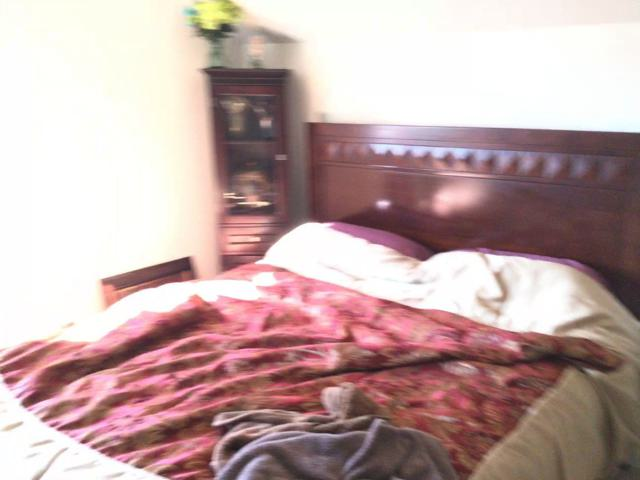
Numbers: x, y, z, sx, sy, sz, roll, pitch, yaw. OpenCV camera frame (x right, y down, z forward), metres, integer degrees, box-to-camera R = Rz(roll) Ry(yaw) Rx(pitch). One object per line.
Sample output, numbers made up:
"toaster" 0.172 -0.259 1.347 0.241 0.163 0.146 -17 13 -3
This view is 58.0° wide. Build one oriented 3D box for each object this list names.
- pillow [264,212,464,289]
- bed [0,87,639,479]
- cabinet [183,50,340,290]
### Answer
"pillow" 0.190 0.020 2.620 0.780 0.160 0.450 8 18 39
"bed" -0.010 0.340 1.880 1.920 1.470 2.160 8 18 39
"cabinet" -0.290 -0.380 3.040 0.560 1.120 0.460 8 18 39
